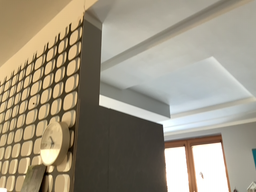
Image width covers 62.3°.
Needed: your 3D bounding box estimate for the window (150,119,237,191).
[{"bbox_3d":[1.110,1.450,3.810,0.350,1.790,1.420,18,-28,-41],"label":"window"}]
